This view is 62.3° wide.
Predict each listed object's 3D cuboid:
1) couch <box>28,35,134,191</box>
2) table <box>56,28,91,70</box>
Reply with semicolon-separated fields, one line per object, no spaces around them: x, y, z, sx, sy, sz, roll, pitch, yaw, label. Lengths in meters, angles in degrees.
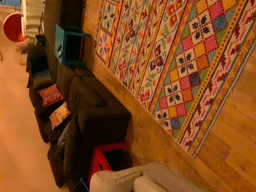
-1.210;-0.020;3.910;3.490;0.730;1.280;44;128;48;couch
-0.990;-0.840;3.800;0.590;0.410;0.560;44;128;48;table
